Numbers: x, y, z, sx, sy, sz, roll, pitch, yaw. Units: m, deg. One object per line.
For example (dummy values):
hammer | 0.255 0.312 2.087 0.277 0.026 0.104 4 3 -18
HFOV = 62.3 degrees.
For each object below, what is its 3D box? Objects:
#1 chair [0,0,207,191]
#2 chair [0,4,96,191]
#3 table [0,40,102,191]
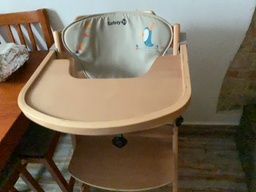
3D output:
chair | -0.020 0.170 0.900 0.510 0.910 0.470 0 44 11
chair | -0.490 0.090 1.090 0.360 0.890 0.490 -2 43 9
table | -0.660 0.280 1.020 0.750 0.740 0.790 -1 41 12
